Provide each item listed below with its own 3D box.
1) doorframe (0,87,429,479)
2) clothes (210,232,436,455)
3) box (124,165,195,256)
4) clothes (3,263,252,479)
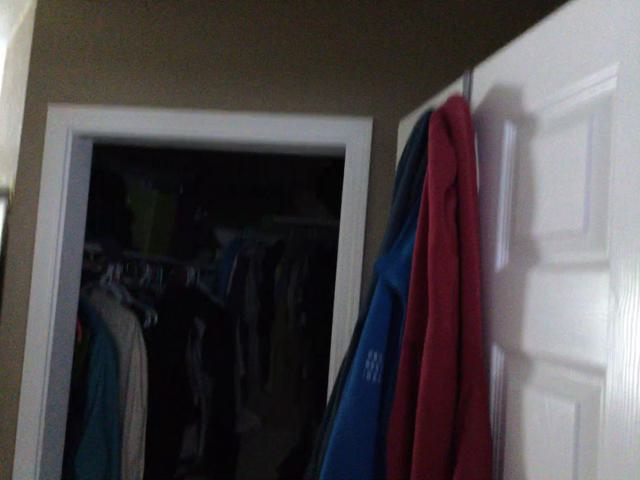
[{"bbox_3d":[-0.310,0.710,1.540,0.980,2.100,0.390,5,-7,3],"label":"doorframe"},{"bbox_3d":[0.030,0.510,3.010,0.980,0.950,0.560,5,-7,3],"label":"clothes"},{"bbox_3d":[-0.700,-0.120,2.560,0.160,0.330,0.360,5,-7,3],"label":"box"},{"bbox_3d":[-0.680,0.980,2.230,0.470,1.640,1.200,5,-7,3],"label":"clothes"}]
